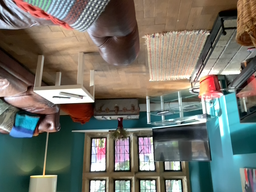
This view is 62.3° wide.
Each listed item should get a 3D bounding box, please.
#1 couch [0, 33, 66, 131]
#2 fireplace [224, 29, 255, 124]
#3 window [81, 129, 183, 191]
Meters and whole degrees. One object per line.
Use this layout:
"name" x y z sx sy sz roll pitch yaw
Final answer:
"couch" -1.700 -0.070 2.710 0.950 0.740 2.250 -2 163 5
"fireplace" 1.550 -0.140 2.400 0.490 0.720 1.180 -3 163 9
"window" 0.060 1.520 4.680 2.160 1.530 0.090 -1 163 3
